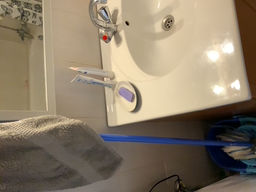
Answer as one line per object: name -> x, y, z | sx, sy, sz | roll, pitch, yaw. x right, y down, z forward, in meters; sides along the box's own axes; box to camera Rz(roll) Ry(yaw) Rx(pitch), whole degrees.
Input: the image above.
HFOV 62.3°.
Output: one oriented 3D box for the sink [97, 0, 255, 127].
sink -> 0.120, -0.320, 0.740 | 0.490, 0.200, 0.780 | -20, 72, 46
